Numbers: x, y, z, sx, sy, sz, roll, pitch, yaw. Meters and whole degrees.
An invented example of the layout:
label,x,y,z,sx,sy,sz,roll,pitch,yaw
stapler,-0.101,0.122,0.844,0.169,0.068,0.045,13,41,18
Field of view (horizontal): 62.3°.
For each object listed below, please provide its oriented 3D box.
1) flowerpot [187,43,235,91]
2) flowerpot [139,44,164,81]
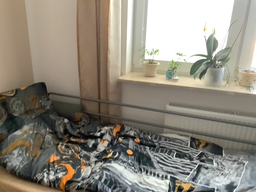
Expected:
label,x,y,z,sx,sy,sz,roll,pitch,yaw
flowerpot,0.640,-0.240,1.660,0.280,0.310,0.230,9,20,18
flowerpot,0.200,-0.290,1.810,0.170,0.280,0.130,8,20,15
